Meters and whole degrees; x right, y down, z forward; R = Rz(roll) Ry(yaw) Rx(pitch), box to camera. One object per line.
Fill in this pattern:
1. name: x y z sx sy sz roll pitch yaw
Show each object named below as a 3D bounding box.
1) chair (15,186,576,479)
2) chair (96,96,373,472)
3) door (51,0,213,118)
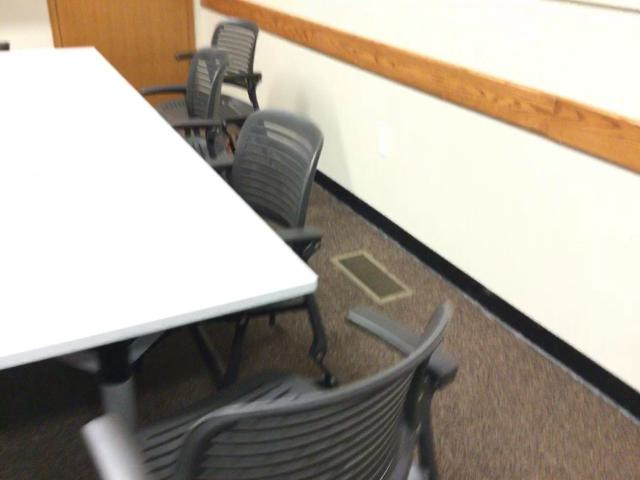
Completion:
1. chair: -0.090 0.450 1.030 0.600 0.860 0.580 -13 31 -30
2. chair: -0.270 0.070 1.650 0.520 0.790 0.610 -10 30 -26
3. door: -1.260 -1.850 3.850 1.040 2.000 0.080 -10 30 -26
